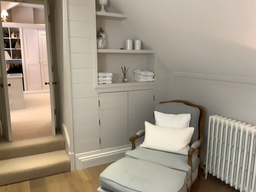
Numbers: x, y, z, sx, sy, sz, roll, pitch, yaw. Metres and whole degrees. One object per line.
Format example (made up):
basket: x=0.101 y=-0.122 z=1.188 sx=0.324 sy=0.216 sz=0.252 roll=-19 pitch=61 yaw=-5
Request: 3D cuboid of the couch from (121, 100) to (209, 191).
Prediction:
couch: x=0.470 y=0.590 z=2.560 sx=0.760 sy=0.880 sz=0.860 roll=6 pitch=12 yaw=30
